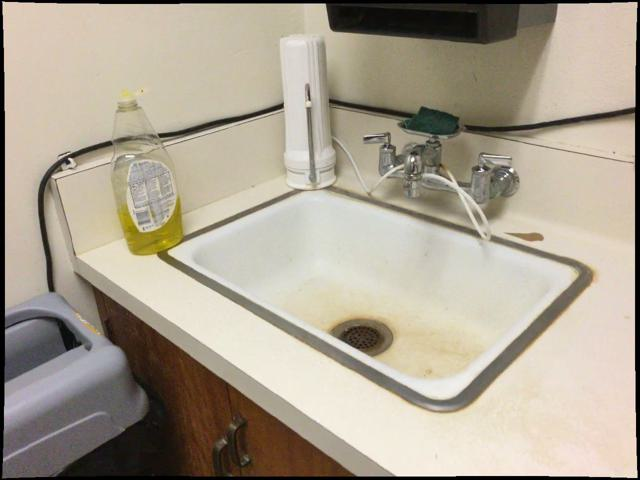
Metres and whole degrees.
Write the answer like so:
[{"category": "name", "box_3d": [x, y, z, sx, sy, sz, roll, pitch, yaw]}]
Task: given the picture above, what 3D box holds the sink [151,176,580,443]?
[{"category": "sink", "box_3d": [0.070, 0.060, 1.200, 0.719, 0.120, 0.500, 21, 34, 40]}]
